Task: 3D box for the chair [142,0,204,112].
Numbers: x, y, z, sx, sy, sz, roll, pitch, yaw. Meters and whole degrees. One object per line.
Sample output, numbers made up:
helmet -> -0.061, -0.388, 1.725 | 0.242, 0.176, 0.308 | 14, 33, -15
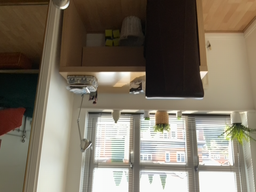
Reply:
chair -> 0.340, -0.410, 1.900 | 0.420, 1.000, 0.660 | 0, 166, 4
